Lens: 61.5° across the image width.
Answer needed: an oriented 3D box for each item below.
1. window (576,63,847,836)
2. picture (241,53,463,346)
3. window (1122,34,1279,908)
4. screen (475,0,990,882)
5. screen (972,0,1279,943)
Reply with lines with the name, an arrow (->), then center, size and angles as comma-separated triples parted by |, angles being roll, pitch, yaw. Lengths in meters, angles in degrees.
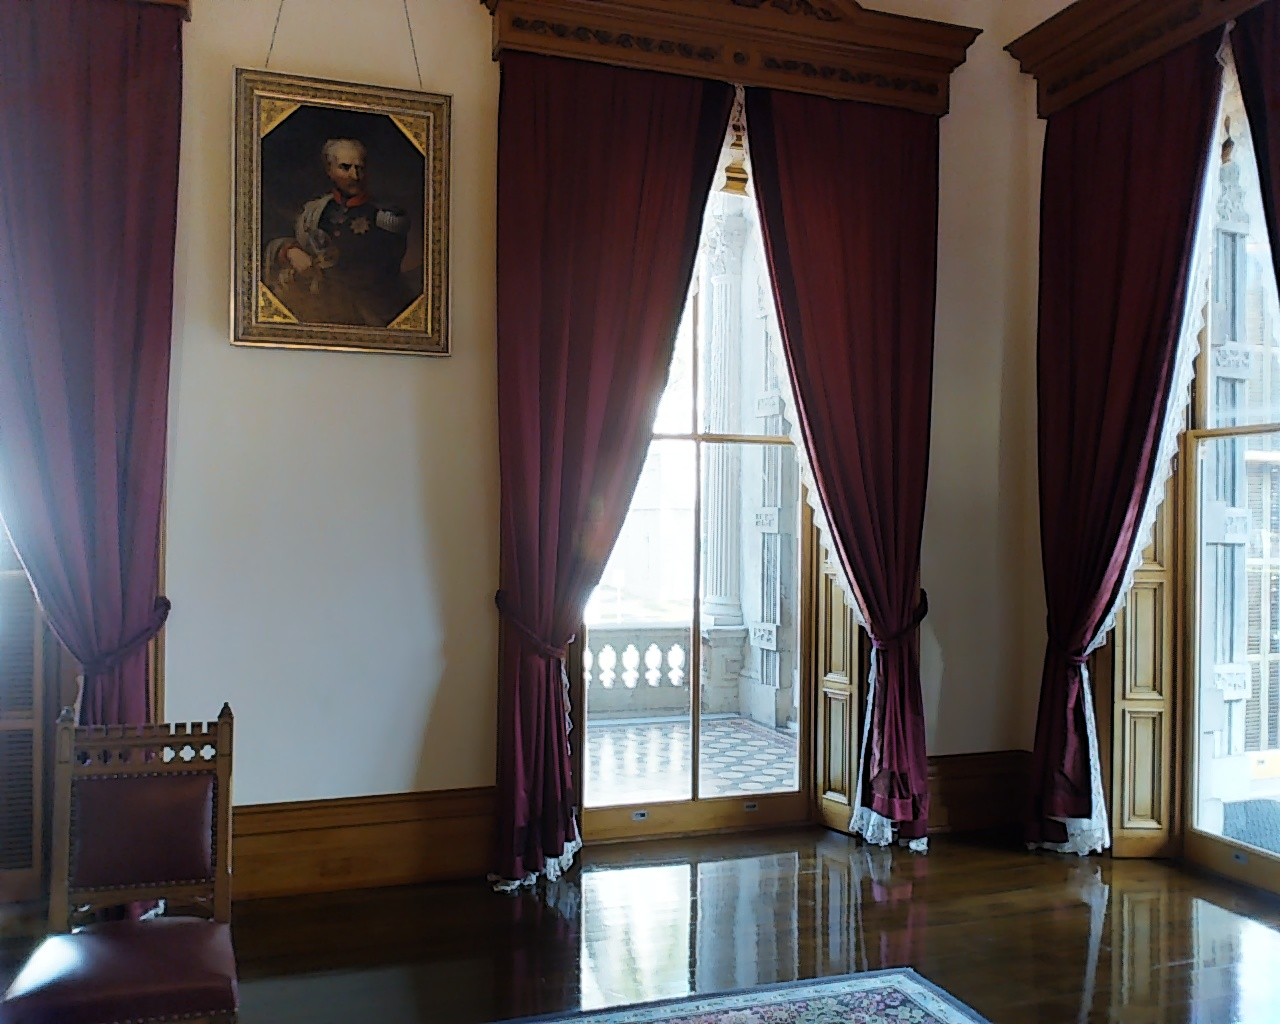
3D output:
window -> 0.380, -0.290, 5.380 | 1.400, 3.670, 0.090 | 0, 0, -19
picture -> -1.210, -1.300, 4.560 | 0.900, 1.130, 0.080 | 0, 0, -19
window -> 2.680, -0.170, 4.480 | 0.250, 3.540, 1.490 | 0, 0, -18
screen -> 0.490, -0.500, 5.100 | 2.470, 4.141, 0.350 | 0, 0, -19
screen -> 2.330, -0.510, 4.460 | 0.260, 4.181, 2.690 | 0, 0, -18
